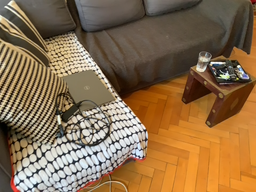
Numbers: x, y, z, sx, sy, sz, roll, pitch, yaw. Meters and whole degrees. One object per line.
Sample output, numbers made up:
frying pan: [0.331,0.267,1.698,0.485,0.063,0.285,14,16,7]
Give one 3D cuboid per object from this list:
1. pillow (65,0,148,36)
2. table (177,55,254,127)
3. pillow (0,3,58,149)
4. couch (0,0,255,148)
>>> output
pillow: [-0.190,-0.880,1.950,0.700,0.420,0.280,-19,68,-21]
table: [0.710,-0.050,1.790,0.360,0.370,0.360,-23,50,-24]
pillow: [-0.590,-0.090,1.180,0.220,0.500,0.630,-12,93,-23]
couch: [-0.130,-0.630,2.010,2.400,0.840,1.100,-19,49,-20]
